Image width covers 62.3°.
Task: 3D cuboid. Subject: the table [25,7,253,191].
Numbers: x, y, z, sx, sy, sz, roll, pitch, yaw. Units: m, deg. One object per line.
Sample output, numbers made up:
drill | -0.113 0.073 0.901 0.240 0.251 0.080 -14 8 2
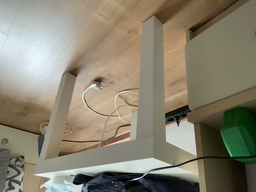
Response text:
table | 0.060 0.140 0.870 0.580 0.470 0.580 -21 141 39
